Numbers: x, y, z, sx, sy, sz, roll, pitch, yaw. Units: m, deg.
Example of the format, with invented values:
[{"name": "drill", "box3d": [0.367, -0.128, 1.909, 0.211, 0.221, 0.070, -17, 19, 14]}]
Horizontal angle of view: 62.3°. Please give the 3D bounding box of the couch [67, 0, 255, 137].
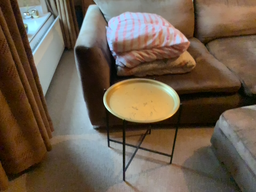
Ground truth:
[{"name": "couch", "box3d": [1.150, -0.450, 1.870, 3.030, 0.870, 1.160, -2, 35, -5]}]
